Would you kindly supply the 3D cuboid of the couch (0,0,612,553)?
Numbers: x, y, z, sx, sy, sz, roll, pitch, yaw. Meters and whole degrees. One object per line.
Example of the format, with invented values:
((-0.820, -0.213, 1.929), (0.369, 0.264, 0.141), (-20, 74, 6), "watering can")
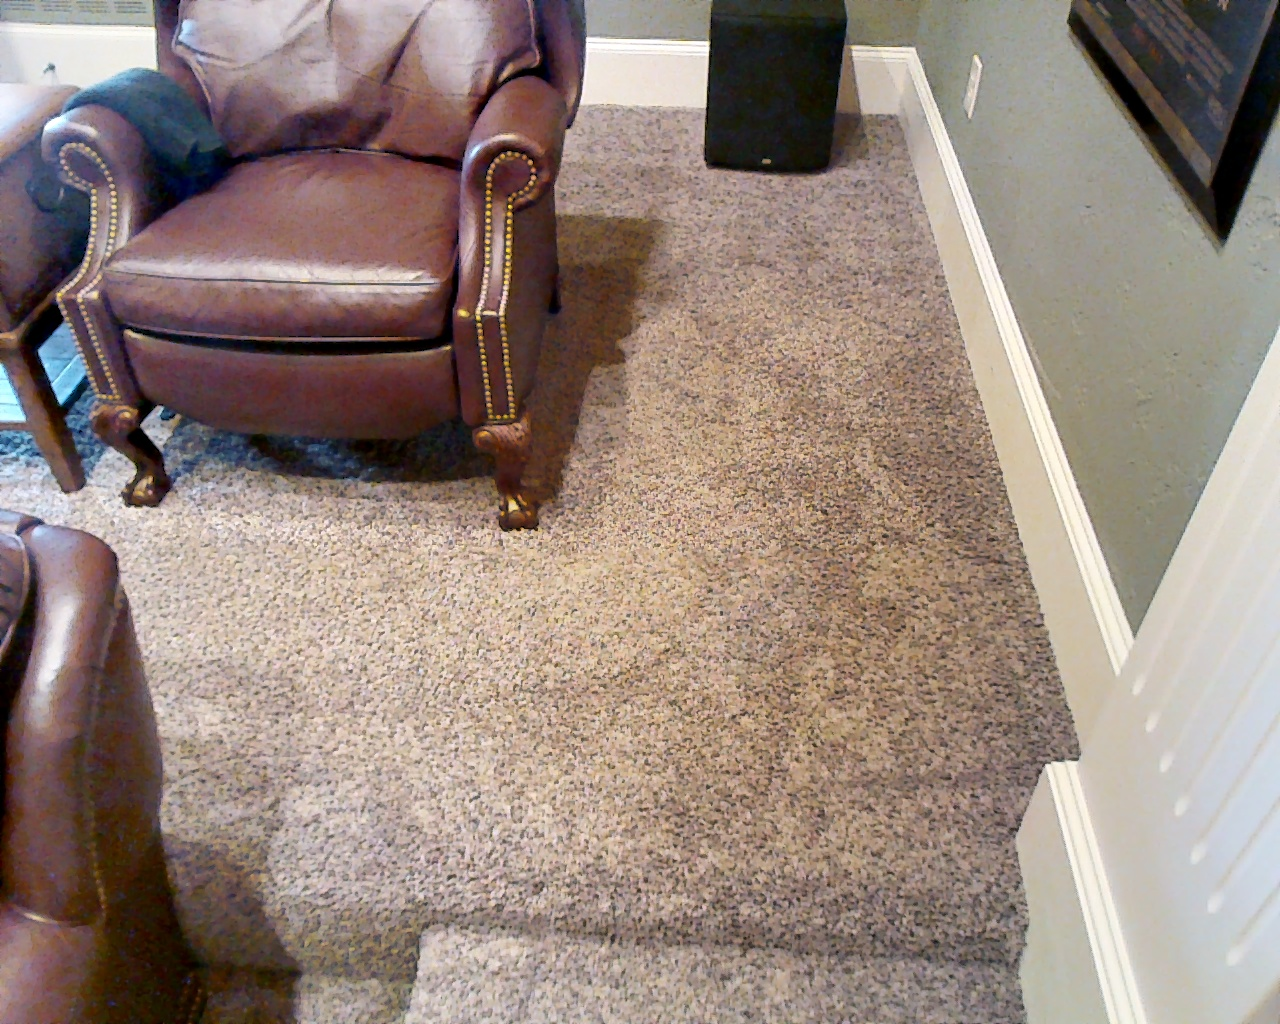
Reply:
((-0.530, -0.690, 1.950), (0.860, 1.110, 0.970), (4, 41, 3), "couch")
